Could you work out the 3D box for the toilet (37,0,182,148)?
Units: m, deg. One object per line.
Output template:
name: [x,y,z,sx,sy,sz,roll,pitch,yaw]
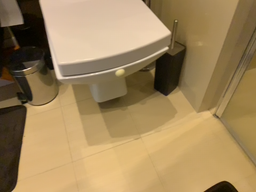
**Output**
toilet: [-0.110,-0.180,0.920,0.380,0.460,0.550,-17,52,-12]
